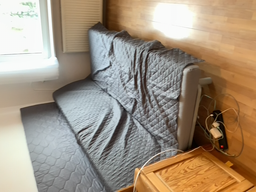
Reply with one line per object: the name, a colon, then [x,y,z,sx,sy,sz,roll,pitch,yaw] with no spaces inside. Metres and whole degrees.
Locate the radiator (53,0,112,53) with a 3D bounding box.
radiator: [-0.650,-1.270,3.090,0.250,0.790,1.190,39,131,50]

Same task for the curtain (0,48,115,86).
curtain: [-1.460,-0.400,2.960,0.290,2.690,0.350,42,133,48]
